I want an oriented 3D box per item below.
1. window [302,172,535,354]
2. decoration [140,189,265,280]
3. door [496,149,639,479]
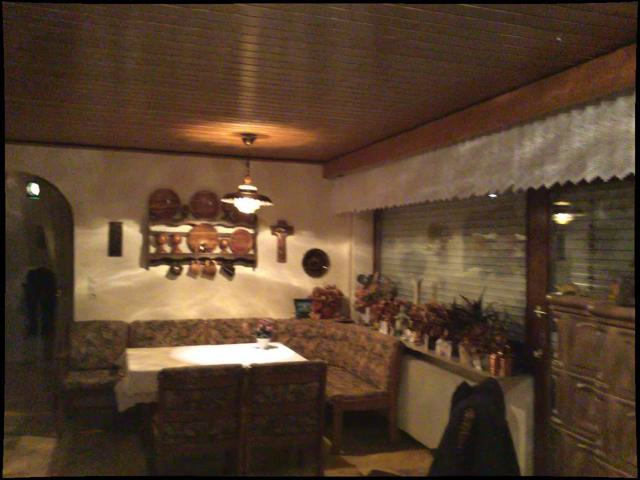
[{"bbox_3d":[0.559,0.140,4.590,0.460,1.041,2.610,0,0,-23],"label":"window"},{"bbox_3d":[-1.069,-0.050,5.350,1.129,0.801,0.140,0,0,-24],"label":"decoration"},{"bbox_3d":[1.568,0.611,3.160,0.619,2.042,1.030,0,0,-23],"label":"door"}]
